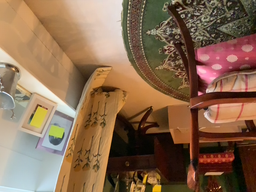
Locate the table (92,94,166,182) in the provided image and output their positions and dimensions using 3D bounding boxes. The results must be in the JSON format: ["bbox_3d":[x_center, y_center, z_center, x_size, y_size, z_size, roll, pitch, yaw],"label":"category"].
[{"bbox_3d":[0.090,0.580,2.550,0.610,0.740,1.070,-6,151,12],"label":"table"}]
